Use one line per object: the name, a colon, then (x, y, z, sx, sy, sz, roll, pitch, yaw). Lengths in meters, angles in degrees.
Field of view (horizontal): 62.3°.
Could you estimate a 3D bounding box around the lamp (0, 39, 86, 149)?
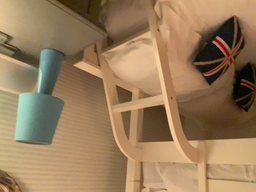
lamp: (-0.370, 0.020, 0.880, 0.310, 0.370, 0.190, -13, 155, 42)
